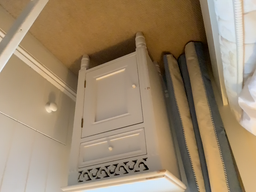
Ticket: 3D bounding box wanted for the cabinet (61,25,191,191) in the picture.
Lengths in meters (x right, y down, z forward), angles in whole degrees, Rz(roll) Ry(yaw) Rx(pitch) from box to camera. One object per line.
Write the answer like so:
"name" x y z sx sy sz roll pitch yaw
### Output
"cabinet" 0.000 0.100 1.040 0.390 0.700 0.400 -17 144 18
